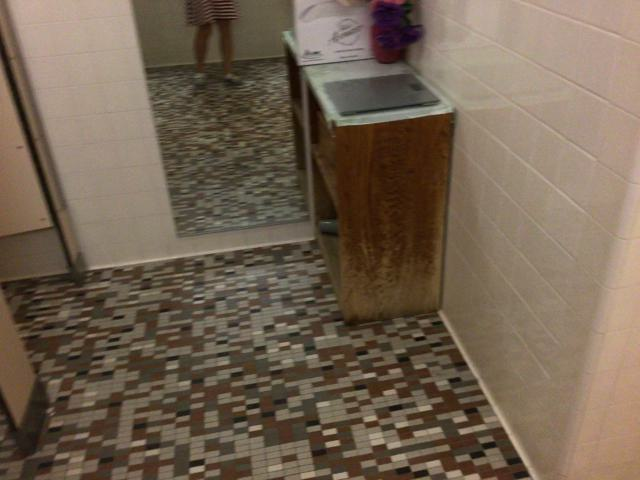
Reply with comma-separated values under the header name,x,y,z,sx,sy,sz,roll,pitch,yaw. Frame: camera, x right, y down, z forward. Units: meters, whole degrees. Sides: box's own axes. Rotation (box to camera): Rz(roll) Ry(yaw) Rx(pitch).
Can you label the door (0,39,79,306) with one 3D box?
name,x,y,z,sx,sy,sz,roll,pitch,yaw
door,-1.120,-0.380,1.870,0.290,1.330,0.130,-13,32,-14
